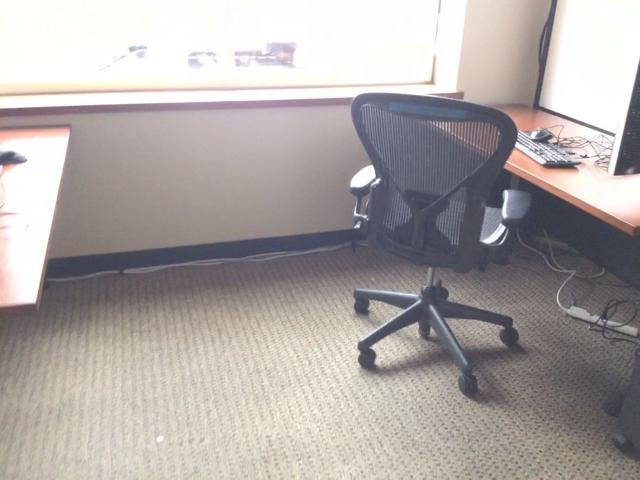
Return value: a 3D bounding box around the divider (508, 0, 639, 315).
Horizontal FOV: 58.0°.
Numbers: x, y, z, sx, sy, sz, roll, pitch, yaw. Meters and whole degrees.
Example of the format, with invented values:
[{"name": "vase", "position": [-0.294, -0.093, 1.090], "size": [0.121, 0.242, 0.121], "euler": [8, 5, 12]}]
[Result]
[{"name": "divider", "position": [1.290, -0.520, 2.250], "size": [0.230, 1.600, 1.530], "euler": [-11, 23, -12]}]
